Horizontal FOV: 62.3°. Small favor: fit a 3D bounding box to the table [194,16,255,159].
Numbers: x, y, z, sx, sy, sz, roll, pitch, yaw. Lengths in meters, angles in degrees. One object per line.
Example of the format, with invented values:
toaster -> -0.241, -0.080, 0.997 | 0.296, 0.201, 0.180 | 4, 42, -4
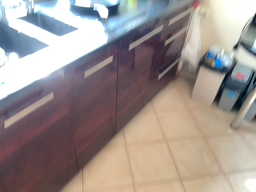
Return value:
table -> 0.940, -0.080, 1.590 | 0.480, 0.750, 0.620 | 27, 45, 23
